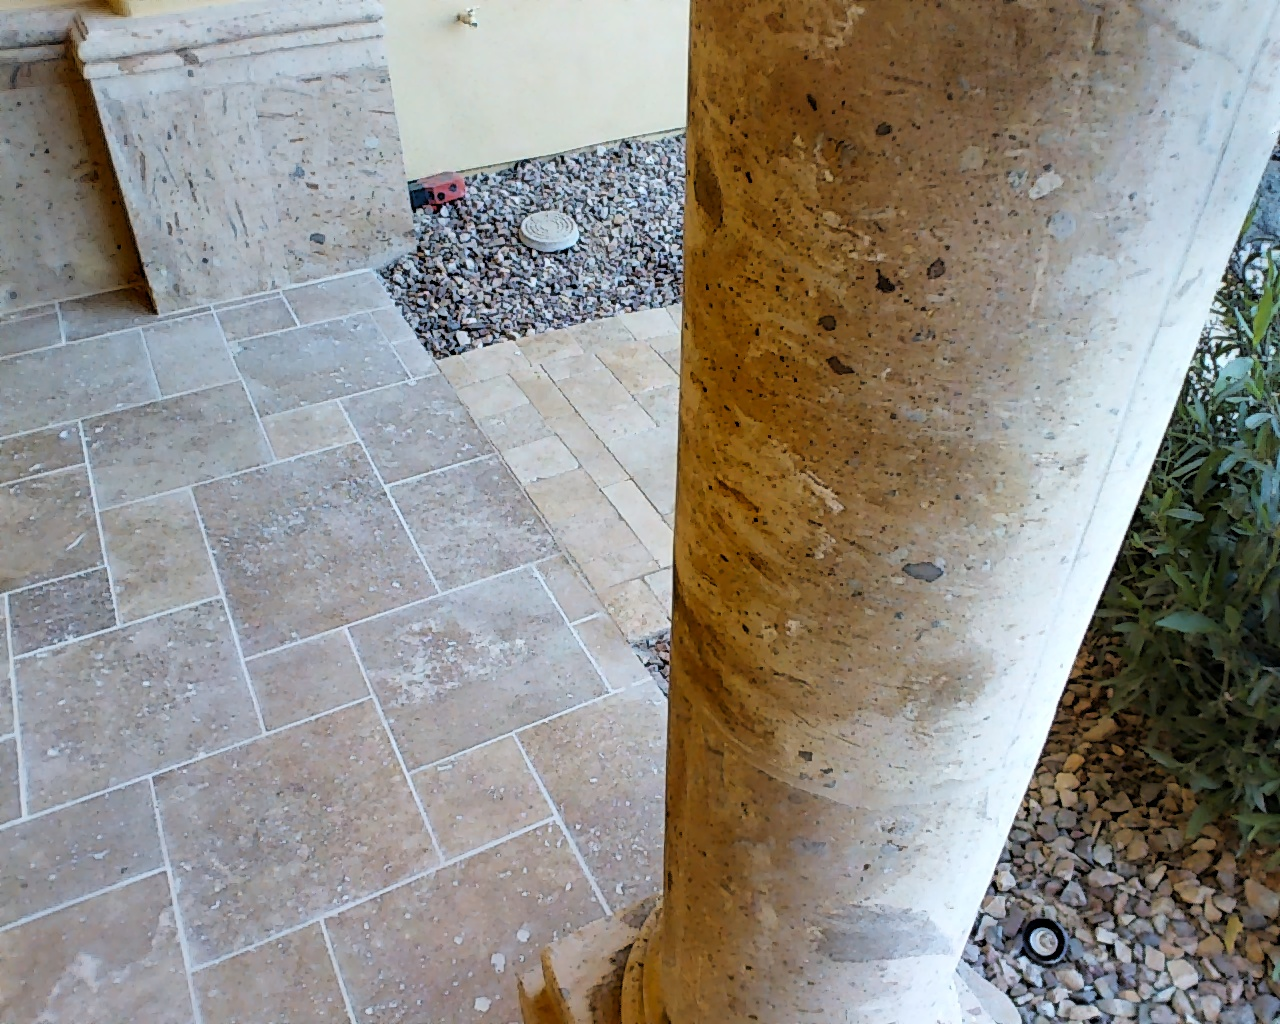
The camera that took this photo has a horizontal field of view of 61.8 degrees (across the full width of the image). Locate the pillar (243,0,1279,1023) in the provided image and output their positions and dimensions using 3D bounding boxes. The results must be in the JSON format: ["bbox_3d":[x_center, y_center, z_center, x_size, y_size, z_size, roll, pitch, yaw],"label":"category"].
[{"bbox_3d":[0.140,-0.010,0.750,0.550,2.089,0.680,-19,44,-21],"label":"pillar"}]
